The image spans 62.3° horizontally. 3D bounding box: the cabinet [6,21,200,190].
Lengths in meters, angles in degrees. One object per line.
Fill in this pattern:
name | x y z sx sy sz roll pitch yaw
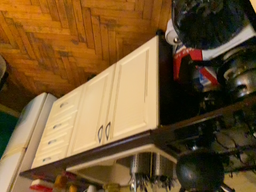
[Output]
cabinet | -0.250 0.200 1.760 1.400 0.850 0.570 -24 136 34
